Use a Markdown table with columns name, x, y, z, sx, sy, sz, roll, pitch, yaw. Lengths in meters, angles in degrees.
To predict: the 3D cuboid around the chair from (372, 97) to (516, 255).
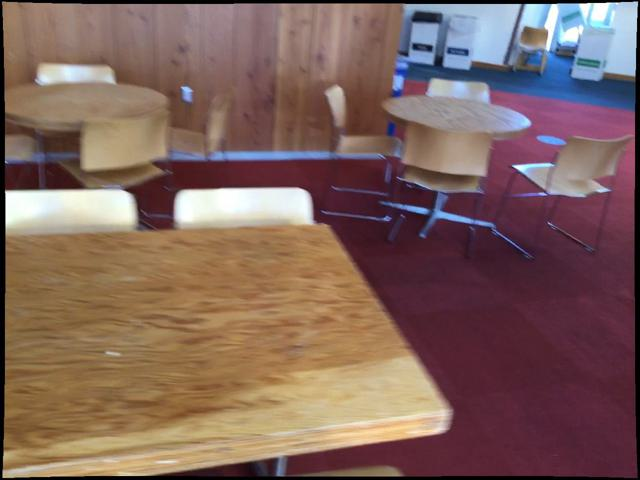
| name | x | y | z | sx | sy | sz | roll | pitch | yaw |
| --- | --- | --- | --- | --- | --- | --- | --- | --- | --- |
| chair | 0.719 | -0.400 | 3.360 | 0.620 | 0.691 | 0.590 | 13 | 27 | 22 |

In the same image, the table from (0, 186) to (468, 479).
| name | x | y | z | sx | sy | sz | roll | pitch | yaw |
| --- | --- | --- | --- | --- | --- | --- | --- | --- | --- |
| table | -0.749 | 0.470 | 1.430 | 1.828 | 0.821 | 0.970 | -5 | 26 | -16 |

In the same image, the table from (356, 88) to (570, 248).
| name | x | y | z | sx | sy | sz | roll | pitch | yaw |
| --- | --- | --- | --- | --- | --- | --- | --- | --- | --- |
| table | 0.839 | -0.511 | 3.700 | 0.939 | 0.741 | 0.880 | -5 | 26 | -16 |

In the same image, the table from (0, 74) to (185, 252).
| name | x | y | z | sx | sy | sz | roll | pitch | yaw |
| --- | --- | --- | --- | --- | --- | --- | --- | --- | --- |
| table | -1.319 | -0.501 | 3.330 | 0.939 | 0.731 | 0.940 | -5 | 26 | -16 |

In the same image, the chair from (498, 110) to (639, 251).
| name | x | y | z | sx | sy | sz | roll | pitch | yaw |
| --- | --- | --- | --- | --- | --- | --- | --- | --- | --- |
| chair | 1.459 | -0.370 | 3.420 | 0.490 | 0.681 | 0.500 | -5 | 26 | -16 |

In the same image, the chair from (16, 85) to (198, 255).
| name | x | y | z | sx | sy | sz | roll | pitch | yaw |
| --- | --- | --- | --- | --- | --- | --- | --- | --- | --- |
| chair | -1.109 | -0.410 | 3.070 | 0.670 | 0.661 | 0.580 | 21 | 31 | 36 |
